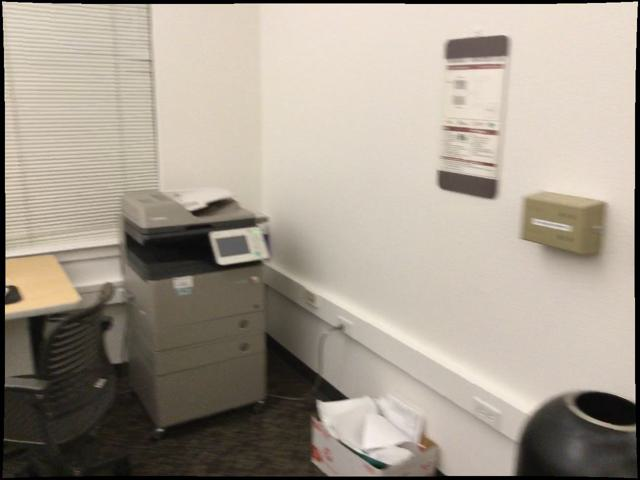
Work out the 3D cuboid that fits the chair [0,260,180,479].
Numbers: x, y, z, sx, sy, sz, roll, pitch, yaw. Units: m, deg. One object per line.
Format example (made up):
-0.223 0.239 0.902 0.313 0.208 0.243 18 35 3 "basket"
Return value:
-0.929 0.601 1.970 0.610 0.851 0.590 10 19 30 "chair"
